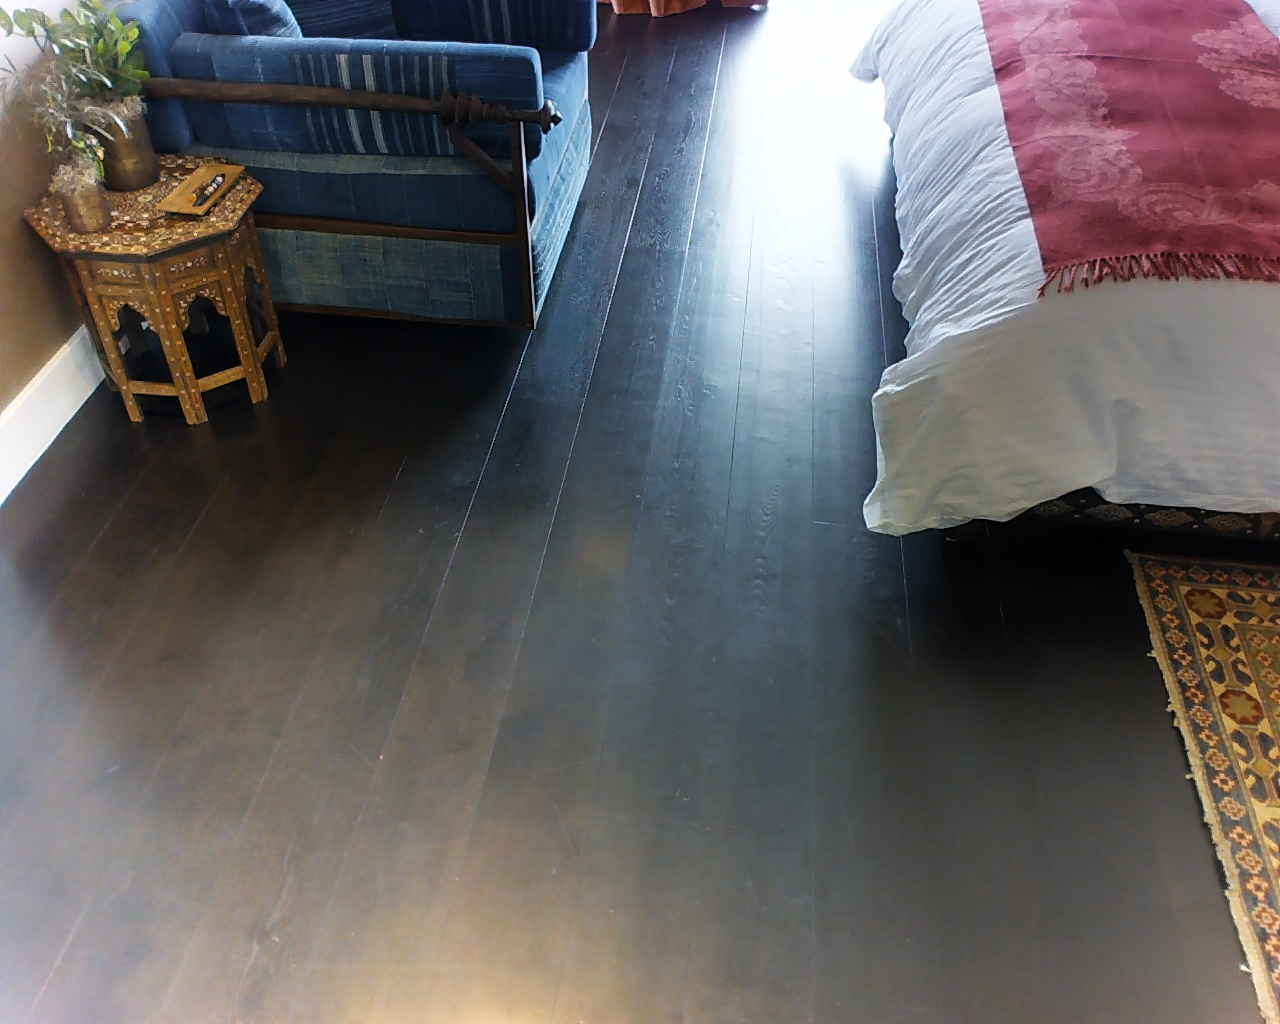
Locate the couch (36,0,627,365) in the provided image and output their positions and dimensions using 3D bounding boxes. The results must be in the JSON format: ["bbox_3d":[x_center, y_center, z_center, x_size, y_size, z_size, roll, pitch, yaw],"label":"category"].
[{"bbox_3d":[-0.650,-1.050,2.830,1.100,0.780,1.030,5,43,5],"label":"couch"}]

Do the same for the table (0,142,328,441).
[{"bbox_3d":[-1.050,-0.500,2.440,0.470,0.490,0.410,5,43,5],"label":"table"}]
